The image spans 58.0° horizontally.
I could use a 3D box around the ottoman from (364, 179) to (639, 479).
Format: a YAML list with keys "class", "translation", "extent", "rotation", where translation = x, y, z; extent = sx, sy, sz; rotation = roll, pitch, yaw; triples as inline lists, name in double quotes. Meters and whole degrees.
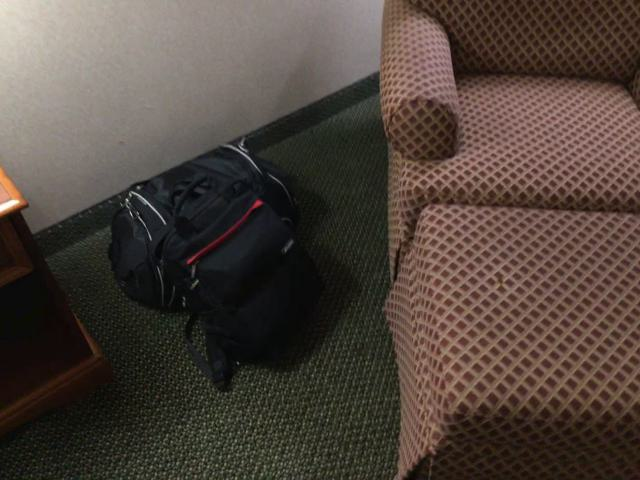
- class: "ottoman"
  translation: [0.510, 0.240, 1.240]
  extent: [0.800, 0.450, 0.610]
  rotation: [0, 45, 2]

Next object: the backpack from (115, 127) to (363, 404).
- class: "backpack"
  translation: [-0.180, 0.050, 1.420]
  extent: [0.400, 0.400, 0.390]
  rotation: [-30, 52, -25]

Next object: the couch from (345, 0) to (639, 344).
- class: "couch"
  translation: [0.580, -0.360, 1.500]
  extent: [0.960, 0.870, 0.860]
  rotation: [3, 46, 5]
